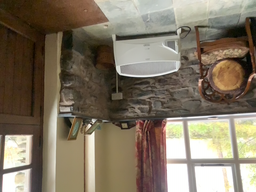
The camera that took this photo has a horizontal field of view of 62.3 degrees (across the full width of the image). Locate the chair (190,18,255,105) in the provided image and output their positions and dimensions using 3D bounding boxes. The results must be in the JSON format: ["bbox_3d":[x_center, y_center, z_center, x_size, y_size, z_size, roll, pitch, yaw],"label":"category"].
[{"bbox_3d":[1.040,-0.340,2.410,0.560,0.780,0.550,-5,169,17],"label":"chair"}]

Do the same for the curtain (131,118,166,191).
[{"bbox_3d":[0.270,0.850,2.810,0.380,1.090,0.190,-5,169,16],"label":"curtain"}]
